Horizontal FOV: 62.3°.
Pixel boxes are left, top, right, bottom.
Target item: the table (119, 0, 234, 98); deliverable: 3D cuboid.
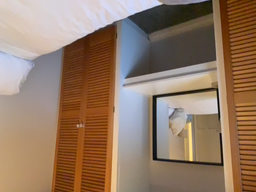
[{"bbox_3d":[0.420,-0.450,1.950,0.860,0.770,0.510,-7,165,35],"label":"table"}]
